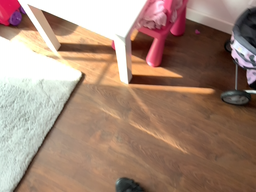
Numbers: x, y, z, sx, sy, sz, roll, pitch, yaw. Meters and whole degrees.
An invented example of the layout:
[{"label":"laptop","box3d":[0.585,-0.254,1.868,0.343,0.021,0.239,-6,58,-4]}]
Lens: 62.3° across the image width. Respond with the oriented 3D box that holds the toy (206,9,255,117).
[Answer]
[{"label":"toy","box3d":[0.740,-0.160,1.030,0.440,0.450,0.400,30,73,11]}]
